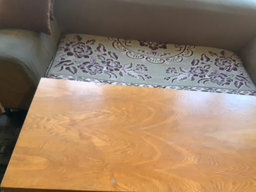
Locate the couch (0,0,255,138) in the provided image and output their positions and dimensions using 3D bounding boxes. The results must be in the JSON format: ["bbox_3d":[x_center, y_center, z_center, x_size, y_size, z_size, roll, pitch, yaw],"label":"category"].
[{"bbox_3d":[0.210,-0.370,1.800,2.290,0.790,1.040,5,46,-6],"label":"couch"}]
